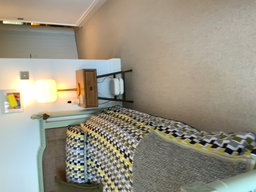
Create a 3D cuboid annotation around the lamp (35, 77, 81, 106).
[{"bbox_3d":[-0.780,-0.050,2.360,0.260,0.440,0.280,0,94,64],"label":"lamp"}]
